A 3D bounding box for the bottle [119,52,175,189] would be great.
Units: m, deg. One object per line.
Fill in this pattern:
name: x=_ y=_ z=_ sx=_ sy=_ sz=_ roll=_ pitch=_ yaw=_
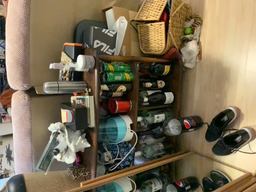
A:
bottle: x=0.120 y=0.150 z=1.480 sx=0.240 sy=0.230 sz=0.880 roll=15 pitch=106 yaw=52
